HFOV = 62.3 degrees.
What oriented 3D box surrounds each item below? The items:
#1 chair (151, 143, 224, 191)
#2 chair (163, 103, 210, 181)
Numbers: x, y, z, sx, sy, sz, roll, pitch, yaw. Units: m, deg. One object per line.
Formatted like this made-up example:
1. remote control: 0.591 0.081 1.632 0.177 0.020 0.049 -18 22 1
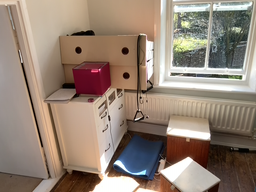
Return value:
1. chair: 0.500 0.760 1.850 0.430 0.400 0.420 -20 29 -35
2. chair: 0.680 0.490 2.460 0.420 0.540 0.670 5 25 17
